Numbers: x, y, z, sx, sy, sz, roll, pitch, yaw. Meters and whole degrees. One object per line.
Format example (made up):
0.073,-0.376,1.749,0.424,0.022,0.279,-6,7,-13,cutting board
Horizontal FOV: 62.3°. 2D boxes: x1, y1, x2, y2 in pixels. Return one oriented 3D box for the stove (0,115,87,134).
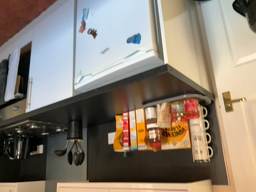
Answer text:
-0.790,0.270,1.870,0.630,0.030,0.570,-15,159,34,stove
